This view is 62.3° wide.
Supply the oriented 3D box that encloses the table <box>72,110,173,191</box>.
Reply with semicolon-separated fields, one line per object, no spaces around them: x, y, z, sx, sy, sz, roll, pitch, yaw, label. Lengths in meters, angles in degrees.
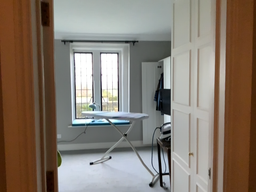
-0.140;0.760;3.350;1.560;0.920;0.620;2;4;40;table
